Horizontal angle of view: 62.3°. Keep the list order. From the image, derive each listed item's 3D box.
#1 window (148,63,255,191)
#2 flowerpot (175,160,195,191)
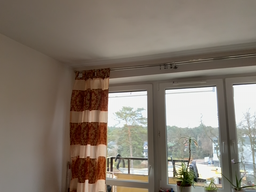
[{"bbox_3d":[1.060,0.440,2.440,1.630,1.570,0.200,-3,-10,19],"label":"window"},{"bbox_3d":[0.660,0.980,2.440,0.200,0.410,0.320,-2,-10,16],"label":"flowerpot"}]
